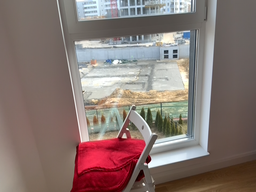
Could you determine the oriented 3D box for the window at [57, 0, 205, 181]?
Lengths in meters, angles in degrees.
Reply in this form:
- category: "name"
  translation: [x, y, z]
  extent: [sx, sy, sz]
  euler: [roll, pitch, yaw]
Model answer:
- category: "window"
  translation: [0.080, -0.450, 1.570]
  extent: [1.070, 2.320, 0.060]
  euler: [-10, 22, -15]
